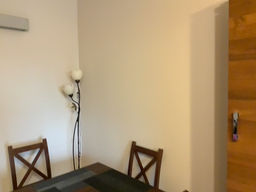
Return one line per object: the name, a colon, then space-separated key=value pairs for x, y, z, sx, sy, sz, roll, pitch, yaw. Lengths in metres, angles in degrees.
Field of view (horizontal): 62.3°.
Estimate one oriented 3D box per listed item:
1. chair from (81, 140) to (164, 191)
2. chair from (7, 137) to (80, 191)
chair: x=-0.030 y=0.910 z=1.750 sx=0.420 sy=0.930 sz=0.530 roll=3 pitch=6 yaw=44
chair: x=-0.740 y=0.910 z=1.870 sx=0.430 sy=0.930 sz=0.520 roll=-4 pitch=5 yaw=-42
